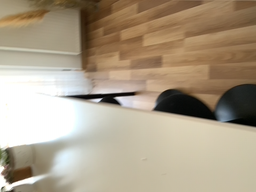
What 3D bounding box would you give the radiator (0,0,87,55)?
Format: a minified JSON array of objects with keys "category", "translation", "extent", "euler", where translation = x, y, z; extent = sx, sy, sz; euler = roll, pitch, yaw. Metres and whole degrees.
[{"category":"radiator","translation":[-0.980,-0.790,2.250],"extent":[0.200,1.080,0.610],"euler":[10,100,52]}]
